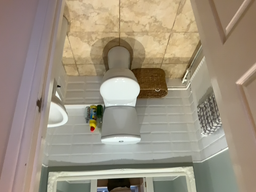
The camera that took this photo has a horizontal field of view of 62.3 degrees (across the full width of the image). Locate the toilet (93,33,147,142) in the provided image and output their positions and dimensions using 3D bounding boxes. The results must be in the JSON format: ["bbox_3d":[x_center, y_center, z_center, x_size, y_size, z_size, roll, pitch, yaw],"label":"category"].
[{"bbox_3d":[-0.090,-0.050,2.010,0.390,0.800,0.670,-1,153,-4],"label":"toilet"}]

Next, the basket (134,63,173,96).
[{"bbox_3d":[0.270,-0.180,2.330,0.370,0.280,0.230,-1,153,-4],"label":"basket"}]
